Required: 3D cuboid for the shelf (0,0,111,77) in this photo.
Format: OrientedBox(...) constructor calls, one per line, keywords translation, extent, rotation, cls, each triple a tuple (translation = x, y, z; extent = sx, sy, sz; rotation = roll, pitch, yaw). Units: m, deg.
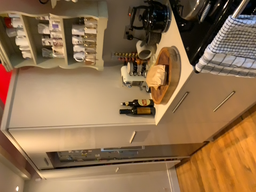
OrientedBox(translation=(-0.600, -0.440, 1.740), extent=(0.700, 0.840, 0.160), rotation=(108, 158, -56), cls="shelf")
